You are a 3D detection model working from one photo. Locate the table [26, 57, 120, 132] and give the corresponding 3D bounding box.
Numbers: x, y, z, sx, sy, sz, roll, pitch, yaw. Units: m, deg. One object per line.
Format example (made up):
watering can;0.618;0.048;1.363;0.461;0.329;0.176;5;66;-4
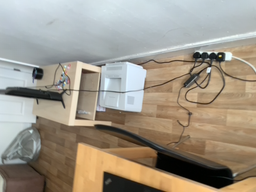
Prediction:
table;-0.630;-0.030;2.240;1.040;0.440;0.610;7;88;47
